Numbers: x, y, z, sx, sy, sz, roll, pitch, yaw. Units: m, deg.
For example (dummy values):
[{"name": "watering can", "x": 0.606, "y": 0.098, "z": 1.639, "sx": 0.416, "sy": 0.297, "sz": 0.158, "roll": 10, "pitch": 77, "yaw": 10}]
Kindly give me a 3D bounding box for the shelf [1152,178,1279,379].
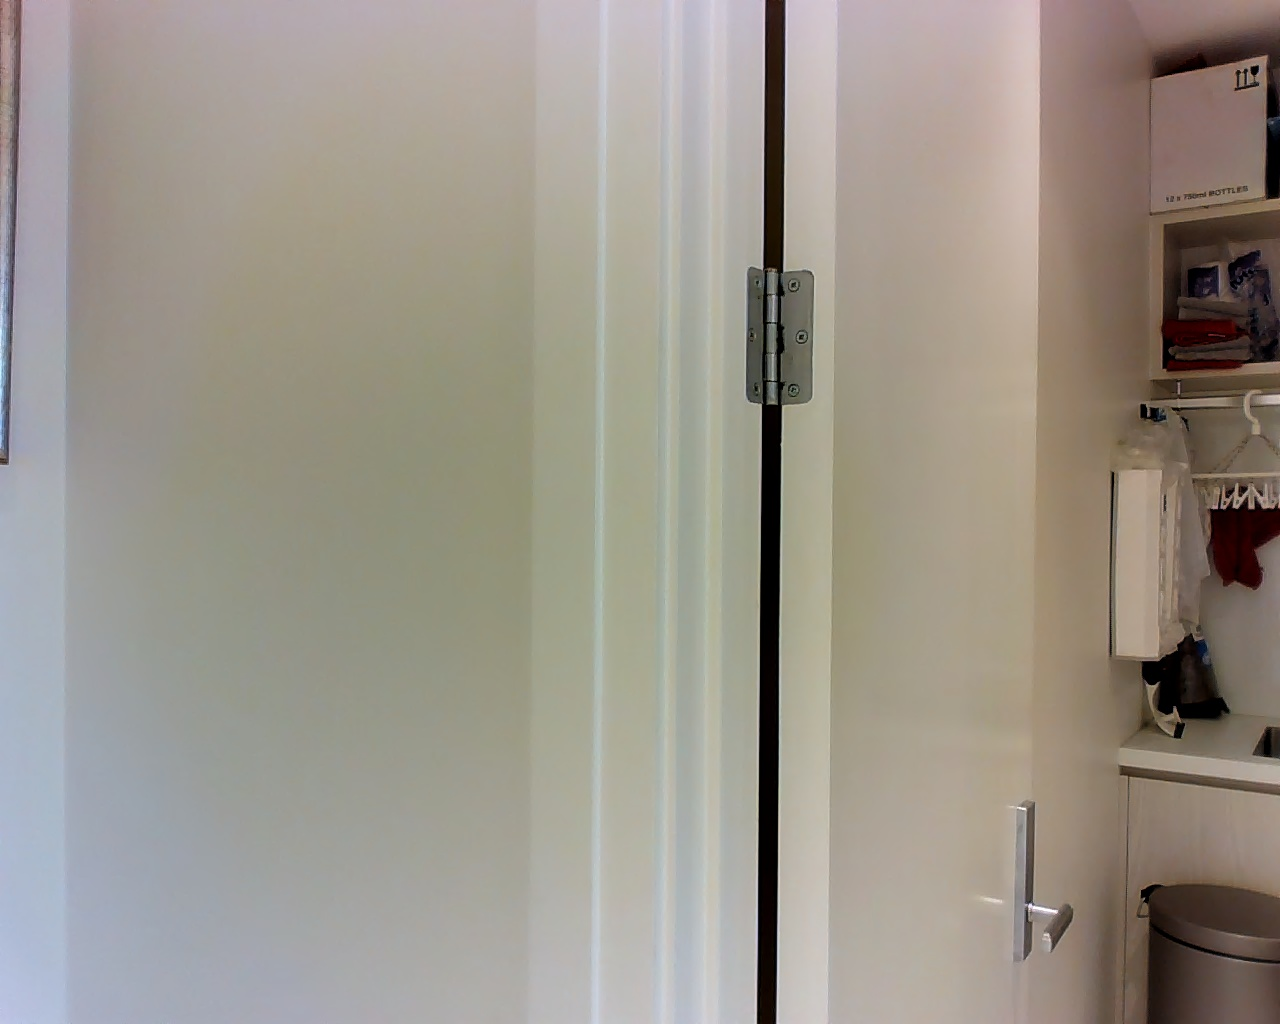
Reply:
[{"name": "shelf", "x": 1.690, "y": -0.530, "z": 2.370, "sx": 0.960, "sy": 0.390, "sz": 0.360, "roll": 1, "pitch": 1, "yaw": 35}]
